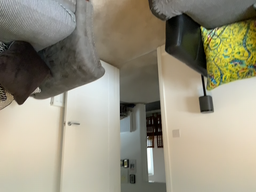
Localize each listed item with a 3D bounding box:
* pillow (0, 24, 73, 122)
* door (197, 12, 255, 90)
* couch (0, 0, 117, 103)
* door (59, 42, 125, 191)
[{"bbox_3d":[-0.870,-0.190,1.810,0.330,0.570,0.510,-17,127,33],"label":"pillow"},{"bbox_3d":[0.840,-0.360,1.760,0.430,0.480,0.280,-10,146,28],"label":"door"},{"bbox_3d":[-1.080,-0.540,1.630,1.100,0.750,1.680,-15,159,41],"label":"couch"},{"bbox_3d":[-0.410,0.420,2.800,0.180,2.030,0.970,-11,162,33],"label":"door"}]
